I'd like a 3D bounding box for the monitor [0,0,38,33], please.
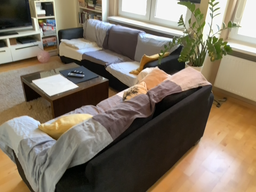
[{"bbox_3d":[-2.000,-1.410,3.570,0.060,0.650,0.890,26,34,35],"label":"monitor"}]
